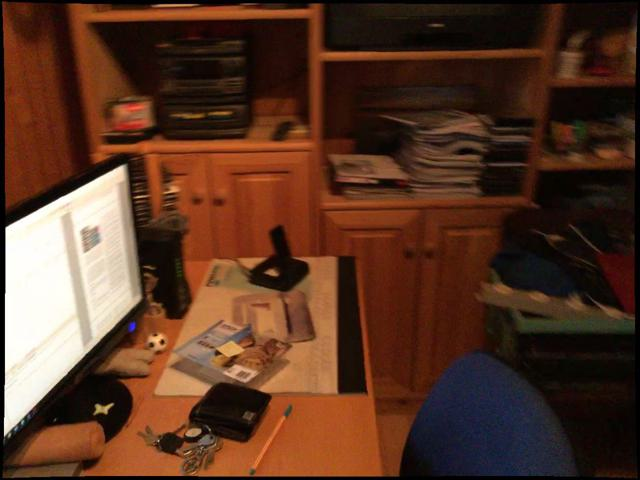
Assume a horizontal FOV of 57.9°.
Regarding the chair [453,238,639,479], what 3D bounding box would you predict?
[{"bbox_3d":[0.779,0.430,1.820,0.529,0.701,0.520,-1,29,-1],"label":"chair"}]
